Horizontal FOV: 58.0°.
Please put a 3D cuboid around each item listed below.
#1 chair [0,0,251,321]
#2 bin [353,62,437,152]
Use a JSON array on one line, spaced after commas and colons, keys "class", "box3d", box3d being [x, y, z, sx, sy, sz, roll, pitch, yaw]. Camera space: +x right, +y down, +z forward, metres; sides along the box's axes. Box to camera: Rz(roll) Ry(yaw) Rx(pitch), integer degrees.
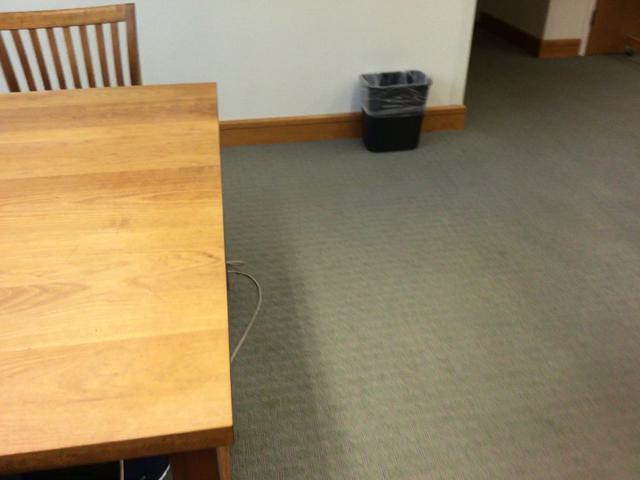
[{"class": "chair", "box3d": [-0.730, -0.340, 2.090, 0.770, 0.880, 0.710, -10, 35, -8]}, {"class": "bin", "box3d": [0.400, -0.730, 3.150, 0.370, 0.360, 0.270, -10, 35, -8]}]
